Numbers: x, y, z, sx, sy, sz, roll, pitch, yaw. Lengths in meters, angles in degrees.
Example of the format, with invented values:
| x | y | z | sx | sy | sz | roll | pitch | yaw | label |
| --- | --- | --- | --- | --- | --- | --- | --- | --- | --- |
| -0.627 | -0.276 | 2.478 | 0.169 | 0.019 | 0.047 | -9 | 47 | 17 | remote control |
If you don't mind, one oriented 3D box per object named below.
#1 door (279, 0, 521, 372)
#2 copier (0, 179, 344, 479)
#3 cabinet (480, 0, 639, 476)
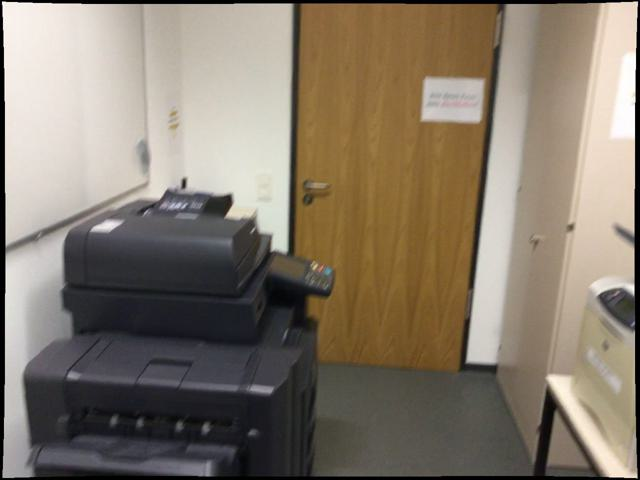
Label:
| x | y | z | sx | sy | sz | roll | pitch | yaw | label |
| --- | --- | --- | --- | --- | --- | --- | --- | --- | --- |
| 0.370 | -0.340 | 3.020 | 1.029 | 2.132 | 0.100 | 5 | 15 | 0 | door |
| -0.360 | 0.531 | 1.670 | 0.729 | 1.161 | 1.120 | 5 | 18 | 4 | copier |
| 1.179 | -0.140 | 2.570 | 0.480 | 2.062 | 0.900 | 5 | 18 | 4 | cabinet |
